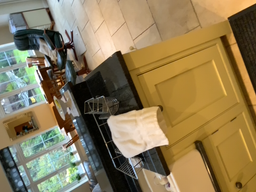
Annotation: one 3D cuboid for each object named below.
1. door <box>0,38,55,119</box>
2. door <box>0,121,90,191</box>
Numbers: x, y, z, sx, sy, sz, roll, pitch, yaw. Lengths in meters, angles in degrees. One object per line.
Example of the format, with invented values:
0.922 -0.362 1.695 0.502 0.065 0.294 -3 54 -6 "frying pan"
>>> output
-2.650 -0.440 4.980 0.080 1.280 1.580 -10 102 62 "door"
-1.890 1.640 5.060 0.050 1.540 1.560 -16 96 62 "door"
